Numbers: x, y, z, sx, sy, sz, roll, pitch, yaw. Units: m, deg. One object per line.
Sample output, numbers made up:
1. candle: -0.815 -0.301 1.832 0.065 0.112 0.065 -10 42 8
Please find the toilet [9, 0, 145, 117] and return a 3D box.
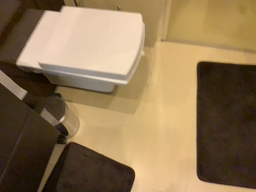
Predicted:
1. toilet: -0.210 -0.190 1.180 0.530 0.450 0.380 12 66 10
